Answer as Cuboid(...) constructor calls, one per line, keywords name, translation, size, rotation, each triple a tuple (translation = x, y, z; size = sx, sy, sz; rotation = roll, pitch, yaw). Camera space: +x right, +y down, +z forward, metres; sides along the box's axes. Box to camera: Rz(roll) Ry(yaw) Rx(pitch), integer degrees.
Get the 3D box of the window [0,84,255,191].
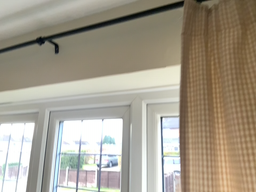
Cuboid(name="window", translation=(-0.200, 0.600, 0.890), size=(1.430, 1.180, 0.070), rotation=(-6, -16, 25))
